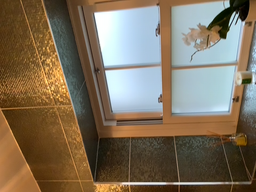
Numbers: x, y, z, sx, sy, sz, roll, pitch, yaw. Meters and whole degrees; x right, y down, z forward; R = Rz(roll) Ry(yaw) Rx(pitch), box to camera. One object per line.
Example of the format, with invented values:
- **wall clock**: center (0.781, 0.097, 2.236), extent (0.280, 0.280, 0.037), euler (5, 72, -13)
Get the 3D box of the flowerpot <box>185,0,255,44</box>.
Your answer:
- **flowerpot**: center (0.520, -0.500, 1.000), extent (0.370, 0.420, 0.350), euler (-84, -11, -55)
